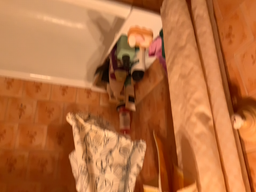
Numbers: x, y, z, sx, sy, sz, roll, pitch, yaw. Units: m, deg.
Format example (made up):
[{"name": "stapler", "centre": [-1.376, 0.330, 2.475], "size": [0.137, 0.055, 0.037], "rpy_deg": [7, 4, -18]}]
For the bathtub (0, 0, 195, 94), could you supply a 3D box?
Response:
[{"name": "bathtub", "centre": [-0.500, -0.500, 1.060], "size": [1.390, 0.570, 0.680], "rpy_deg": [8, 152, -21]}]

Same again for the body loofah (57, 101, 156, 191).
[{"name": "body loofah", "centre": [-0.070, 0.430, 0.710], "size": [0.290, 0.780, 0.280], "rpy_deg": [0, 154, -6]}]
